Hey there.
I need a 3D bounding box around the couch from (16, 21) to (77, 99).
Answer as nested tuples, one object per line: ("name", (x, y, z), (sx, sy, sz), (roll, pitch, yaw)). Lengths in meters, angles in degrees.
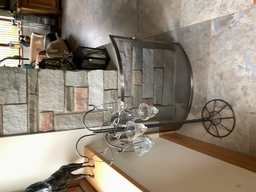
("couch", (-1.720, -0.720, 4.300), (1.030, 0.910, 1.140), (53, 134, 43))
